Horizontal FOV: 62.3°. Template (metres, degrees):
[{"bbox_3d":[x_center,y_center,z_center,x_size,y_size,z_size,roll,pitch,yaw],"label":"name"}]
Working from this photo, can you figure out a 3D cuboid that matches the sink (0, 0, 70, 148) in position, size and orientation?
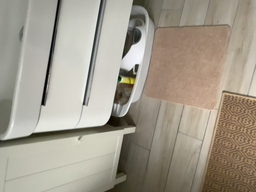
[{"bbox_3d":[-0.460,-0.260,0.850,0.500,0.130,0.770,17,98,37],"label":"sink"}]
